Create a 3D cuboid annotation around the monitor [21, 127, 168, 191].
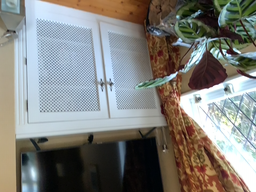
[{"bbox_3d":[-0.190,0.650,1.660,1.160,0.740,0.060,1,165,-29],"label":"monitor"}]
